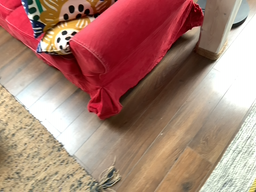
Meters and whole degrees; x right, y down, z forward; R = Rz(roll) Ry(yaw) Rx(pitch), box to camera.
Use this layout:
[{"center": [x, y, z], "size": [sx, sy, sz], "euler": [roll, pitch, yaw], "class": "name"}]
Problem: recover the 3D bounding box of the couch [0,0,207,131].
[{"center": [-0.470, -0.770, 1.430], "size": [1.710, 0.810, 0.950], "euler": [36, 70, 24], "class": "couch"}]
